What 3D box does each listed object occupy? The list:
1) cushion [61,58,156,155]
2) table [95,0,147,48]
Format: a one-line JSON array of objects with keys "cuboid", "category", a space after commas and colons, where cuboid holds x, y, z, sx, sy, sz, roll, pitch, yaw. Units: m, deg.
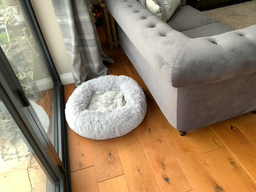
[{"cuboid": [-0.210, 0.020, 1.790, 0.610, 0.190, 0.820, -15, 40, -9], "category": "cushion"}, {"cuboid": [-0.080, -0.990, 2.750, 0.560, 0.530, 0.300, -14, 40, -8], "category": "table"}]
